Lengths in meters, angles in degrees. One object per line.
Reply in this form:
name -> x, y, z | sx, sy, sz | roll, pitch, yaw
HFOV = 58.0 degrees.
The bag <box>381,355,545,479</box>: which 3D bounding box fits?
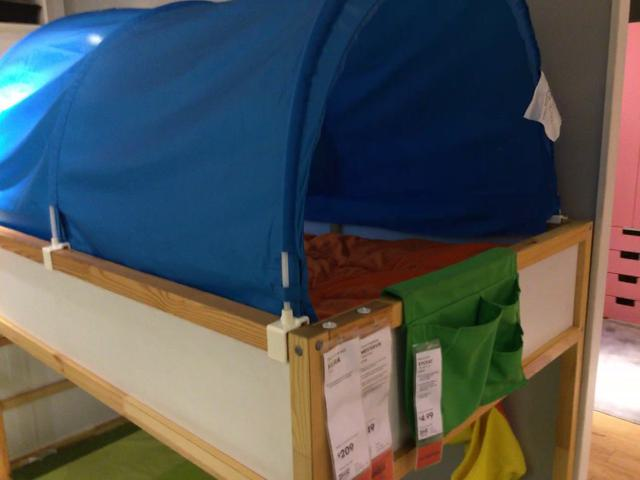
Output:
bag -> 0.430, 0.650, 1.810 | 0.430, 0.420, 0.190 | 14, 19, 39
